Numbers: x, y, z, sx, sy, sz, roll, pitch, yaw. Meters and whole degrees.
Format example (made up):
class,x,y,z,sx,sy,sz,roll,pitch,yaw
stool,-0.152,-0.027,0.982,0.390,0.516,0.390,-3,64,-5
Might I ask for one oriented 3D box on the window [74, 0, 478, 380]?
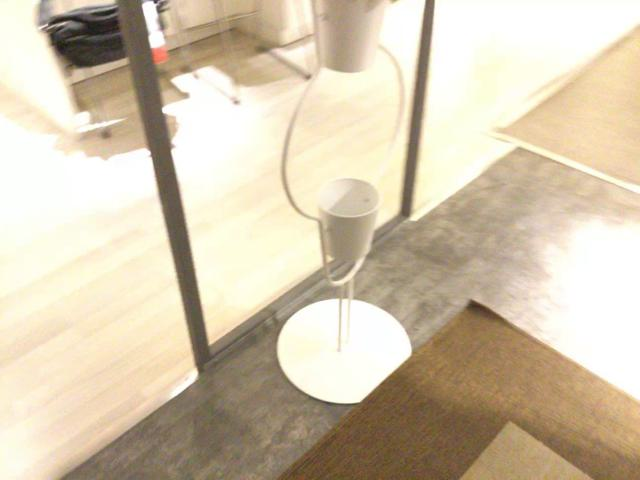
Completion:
class,x,y,z,sx,sy,sz,roll,pitch,yaw
window,0.000,-0.290,1.490,1.010,1.010,0.180,-32,49,-32
